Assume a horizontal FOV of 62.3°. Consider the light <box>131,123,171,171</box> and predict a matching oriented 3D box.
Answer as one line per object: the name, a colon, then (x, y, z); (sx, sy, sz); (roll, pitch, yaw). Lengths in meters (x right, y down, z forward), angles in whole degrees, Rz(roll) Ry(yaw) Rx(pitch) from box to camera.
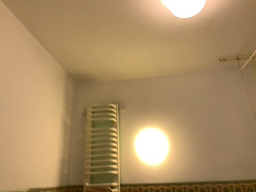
light: (0.190, 0.440, 1.820); (0.300, 0.370, 0.140); (-4, -21, 5)
